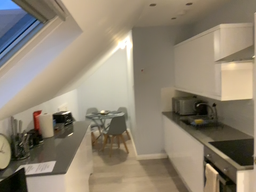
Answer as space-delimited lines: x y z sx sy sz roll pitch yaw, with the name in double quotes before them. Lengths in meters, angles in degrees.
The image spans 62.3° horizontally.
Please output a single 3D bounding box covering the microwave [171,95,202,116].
"microwave" 1.000 0.150 3.690 0.370 0.260 0.510 -3 6 -4
